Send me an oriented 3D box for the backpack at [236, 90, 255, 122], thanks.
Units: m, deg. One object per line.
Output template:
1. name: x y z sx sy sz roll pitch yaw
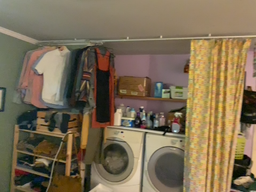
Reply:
1. backpack: 1.620 0.130 2.820 0.270 0.400 0.250 4 0 21

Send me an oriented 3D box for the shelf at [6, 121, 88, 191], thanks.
1. shelf: -1.080 1.010 2.790 0.950 1.230 0.350 4 0 21

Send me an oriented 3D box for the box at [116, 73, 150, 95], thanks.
1. box: 0.090 -0.180 3.310 0.430 0.300 0.310 4 0 21
